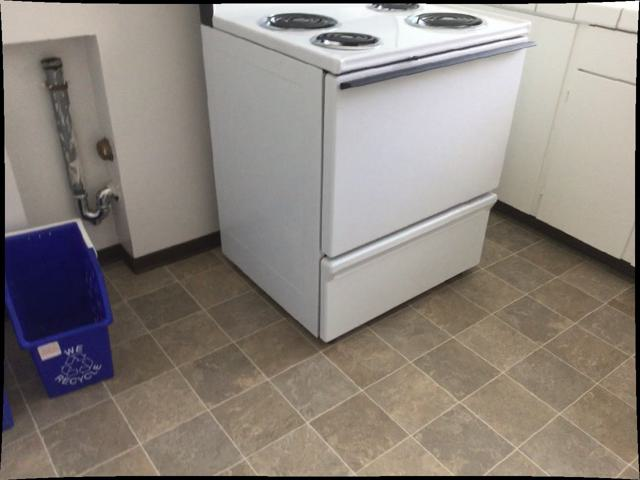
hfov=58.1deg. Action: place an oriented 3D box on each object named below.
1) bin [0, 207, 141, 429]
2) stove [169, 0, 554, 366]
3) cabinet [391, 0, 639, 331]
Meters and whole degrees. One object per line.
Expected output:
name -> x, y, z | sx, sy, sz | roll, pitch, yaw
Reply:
bin -> -0.809, 0.210, 1.730 | 0.300, 0.370, 0.490 | -23, 42, -32
stove -> 0.100, -0.391, 1.960 | 0.859, 1.131, 0.770 | -23, 42, -32
cabinet -> 1.128, -0.210, 2.000 | 0.230, 0.971, 2.149 | -23, 42, -32
